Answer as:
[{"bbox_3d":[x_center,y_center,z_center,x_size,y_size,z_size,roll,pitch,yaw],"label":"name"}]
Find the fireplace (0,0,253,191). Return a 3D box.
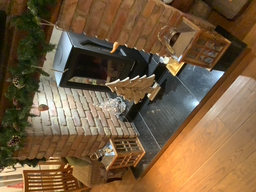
[{"bbox_3d":[-0.290,-0.170,1.910,1.720,1.430,1.180,-58,44,31],"label":"fireplace"}]

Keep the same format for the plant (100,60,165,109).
[{"bbox_3d":[0.040,-0.090,2.050,0.410,0.460,0.180,-59,43,30],"label":"plant"}]
